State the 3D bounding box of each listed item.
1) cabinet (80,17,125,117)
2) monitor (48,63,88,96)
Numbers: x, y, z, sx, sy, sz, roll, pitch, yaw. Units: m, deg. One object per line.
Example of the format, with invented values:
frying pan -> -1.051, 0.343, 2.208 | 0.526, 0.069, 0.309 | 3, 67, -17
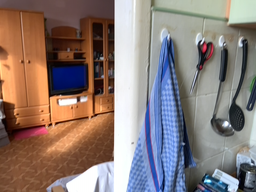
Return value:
cabinet -> -0.530, -0.590, 4.450 | 0.740, 1.890, 0.500 | -8, 16, -35
monitor -> -1.070, -0.320, 3.890 | 0.060, 0.540, 0.780 | 14, 18, 42
